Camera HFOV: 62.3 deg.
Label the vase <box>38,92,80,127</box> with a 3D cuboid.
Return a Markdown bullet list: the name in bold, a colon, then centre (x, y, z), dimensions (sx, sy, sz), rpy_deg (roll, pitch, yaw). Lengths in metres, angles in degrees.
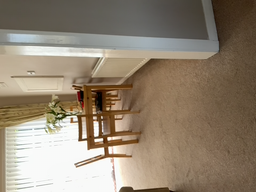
- **vase**: centre (-1.060, 0.220, 3.240), dimensions (0.580, 0.540, 0.420), rpy_deg (148, 118, -68)
